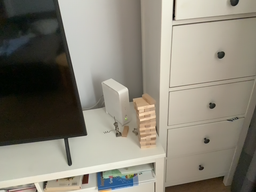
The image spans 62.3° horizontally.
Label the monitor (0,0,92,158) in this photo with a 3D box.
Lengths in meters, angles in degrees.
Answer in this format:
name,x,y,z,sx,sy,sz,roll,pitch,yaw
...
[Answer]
name,x,y,z,sx,sy,sz,roll,pitch,yaw
monitor,-0.750,0.000,0.860,1.100,0.700,0.050,-6,31,-3
